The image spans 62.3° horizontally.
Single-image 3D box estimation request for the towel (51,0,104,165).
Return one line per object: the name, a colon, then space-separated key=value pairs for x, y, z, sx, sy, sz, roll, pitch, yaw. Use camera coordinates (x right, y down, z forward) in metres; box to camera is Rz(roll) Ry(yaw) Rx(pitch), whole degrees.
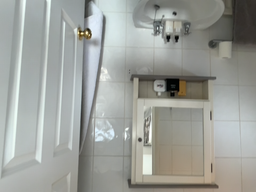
towel: x=-0.310 y=-0.130 z=1.380 sx=0.260 sy=1.080 sz=0.180 roll=1 pitch=174 yaw=0
